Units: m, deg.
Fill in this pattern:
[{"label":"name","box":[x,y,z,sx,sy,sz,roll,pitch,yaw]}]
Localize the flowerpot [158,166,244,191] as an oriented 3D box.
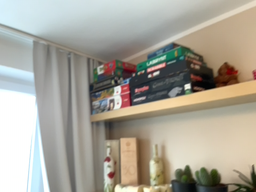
[{"label":"flowerpot","box":[0.350,0.440,1.040,0.200,0.160,0.340,13,-19,-43]}]
